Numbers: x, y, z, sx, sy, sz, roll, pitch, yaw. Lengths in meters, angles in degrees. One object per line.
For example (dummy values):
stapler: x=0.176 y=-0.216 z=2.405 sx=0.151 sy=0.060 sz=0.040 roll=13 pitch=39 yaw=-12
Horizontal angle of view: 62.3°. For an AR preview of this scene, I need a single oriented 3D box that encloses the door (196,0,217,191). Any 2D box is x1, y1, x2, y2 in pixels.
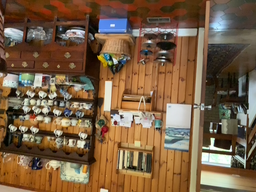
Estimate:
door: x=0.790 y=0.080 z=2.170 sx=0.060 sy=2.070 sz=0.770 roll=3 pitch=177 yaw=18
